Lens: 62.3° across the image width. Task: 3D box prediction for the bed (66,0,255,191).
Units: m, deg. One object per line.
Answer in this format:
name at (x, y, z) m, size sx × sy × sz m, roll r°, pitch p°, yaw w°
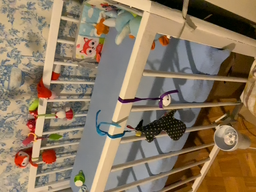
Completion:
bed at (0.130, 0.190, 1.140) m, size 0.600 × 0.530 × 1.170 m, roll 44°, pitch 123°, yaw 44°
